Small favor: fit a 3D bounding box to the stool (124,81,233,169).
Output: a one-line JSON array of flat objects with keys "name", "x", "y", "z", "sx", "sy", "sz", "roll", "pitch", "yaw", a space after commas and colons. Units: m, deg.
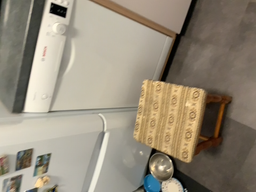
[{"name": "stool", "x": 0.280, "y": 0.110, "z": 1.110, "sx": 0.340, "sy": 0.460, "sz": 0.300, "roll": 15, "pitch": 99, "yaw": 38}]
